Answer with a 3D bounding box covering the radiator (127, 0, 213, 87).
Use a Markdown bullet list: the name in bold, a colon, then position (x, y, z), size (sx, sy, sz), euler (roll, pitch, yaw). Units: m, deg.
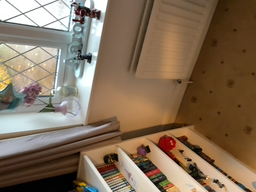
- **radiator**: position (0.330, -0.500, 1.440), size (0.060, 0.550, 0.910), euler (35, 119, 45)
